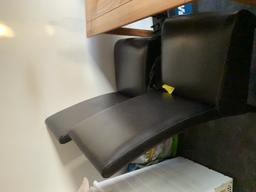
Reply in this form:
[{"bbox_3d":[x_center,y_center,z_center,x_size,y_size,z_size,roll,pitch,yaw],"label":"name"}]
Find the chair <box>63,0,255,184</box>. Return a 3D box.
[{"bbox_3d":[0.260,-0.110,1.160,0.480,1.080,0.660,27,117,53],"label":"chair"}]
